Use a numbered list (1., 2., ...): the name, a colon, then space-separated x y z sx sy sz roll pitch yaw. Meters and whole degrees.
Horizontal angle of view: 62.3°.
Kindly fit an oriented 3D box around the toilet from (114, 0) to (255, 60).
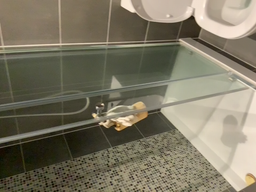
1. toilet: 0.440 -0.540 1.150 0.660 0.790 0.380 50 140 44
